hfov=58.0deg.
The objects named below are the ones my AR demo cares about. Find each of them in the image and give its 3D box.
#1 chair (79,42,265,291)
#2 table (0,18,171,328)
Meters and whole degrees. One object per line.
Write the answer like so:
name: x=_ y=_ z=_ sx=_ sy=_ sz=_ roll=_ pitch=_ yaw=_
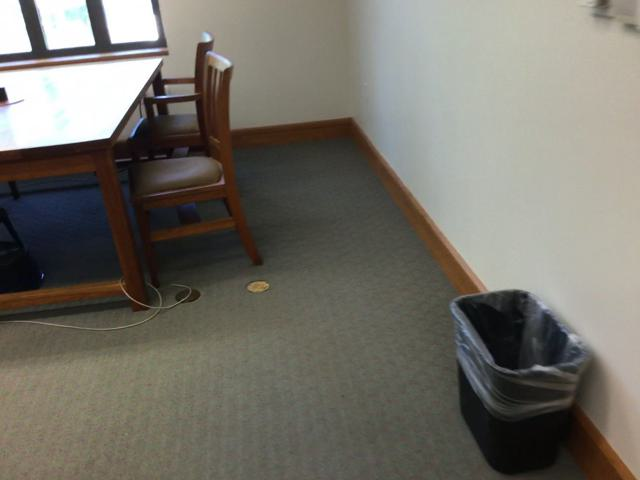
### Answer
chair: x=-0.670 y=-0.370 z=2.640 sx=0.630 sy=0.890 sz=0.640 roll=-11 pitch=29 yaw=-17
table: x=-1.580 y=-0.510 z=3.030 sx=1.410 sy=0.950 sz=2.030 roll=-7 pitch=28 yaw=-11
